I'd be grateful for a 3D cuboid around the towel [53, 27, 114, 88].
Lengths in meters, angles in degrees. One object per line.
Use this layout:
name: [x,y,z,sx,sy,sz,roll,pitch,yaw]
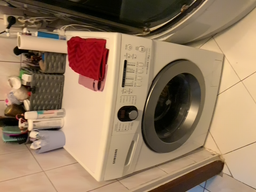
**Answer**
towel: [-0.200,-0.170,0.870,0.360,0.060,0.170,29,113,44]
